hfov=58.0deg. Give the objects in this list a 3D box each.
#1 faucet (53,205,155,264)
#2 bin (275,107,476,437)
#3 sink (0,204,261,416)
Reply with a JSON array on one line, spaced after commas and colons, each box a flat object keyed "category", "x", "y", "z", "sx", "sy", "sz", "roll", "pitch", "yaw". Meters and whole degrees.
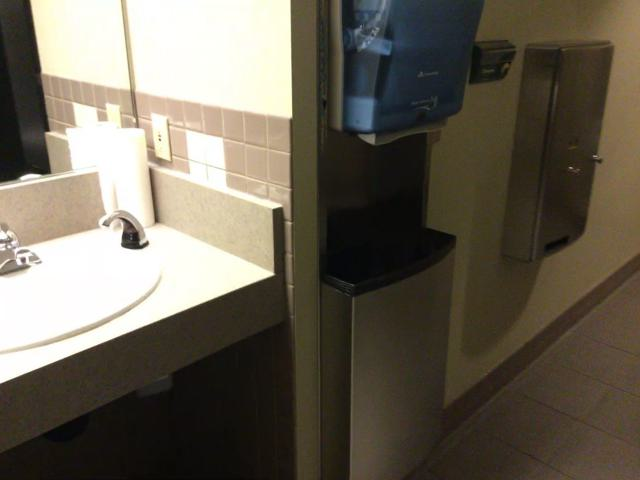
[{"category": "faucet", "x": -0.540, "y": -0.020, "z": 1.440, "sx": 0.140, "sy": 0.070, "sz": 0.240, "roll": -21, "pitch": 25, "yaw": -40}, {"category": "bin", "x": 0.170, "y": 0.050, "z": 1.500, "sx": 0.470, "sy": 0.710, "sz": 0.230, "roll": -21, "pitch": 25, "yaw": -40}, {"category": "sink", "x": -0.540, "y": 0.110, "z": 1.250, "sx": 0.660, "sy": 0.160, "sz": 0.470, "roll": -21, "pitch": 25, "yaw": -40}]
